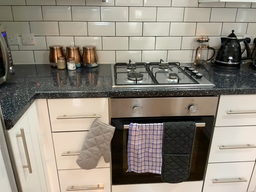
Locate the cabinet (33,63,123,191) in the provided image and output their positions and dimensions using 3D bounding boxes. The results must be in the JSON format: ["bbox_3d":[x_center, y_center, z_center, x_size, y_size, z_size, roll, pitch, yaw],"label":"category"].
[{"bbox_3d":[-0.280,0.280,1.520,0.450,0.900,0.580,-2,22,-5],"label":"cabinet"}]

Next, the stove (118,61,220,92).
[{"bbox_3d":[0.210,-0.150,1.390,0.520,0.020,0.590,-2,22,-5],"label":"stove"}]
